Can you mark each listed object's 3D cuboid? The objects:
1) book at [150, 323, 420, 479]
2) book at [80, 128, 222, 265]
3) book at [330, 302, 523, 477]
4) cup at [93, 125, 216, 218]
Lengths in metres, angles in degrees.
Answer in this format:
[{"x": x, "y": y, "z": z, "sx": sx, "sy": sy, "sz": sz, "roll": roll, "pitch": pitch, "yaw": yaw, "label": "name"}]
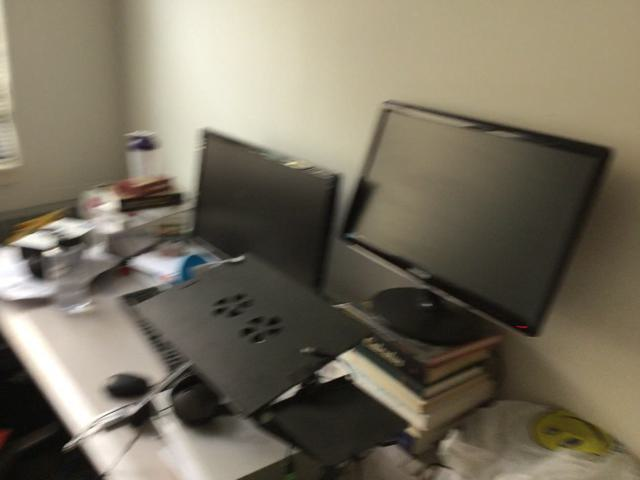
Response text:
[{"x": -0.070, "y": 0.350, "z": 1.170, "sx": 0.430, "sy": 0.150, "sz": 0.320, "roll": -11, "pitch": 24, "yaw": -40, "label": "book"}, {"x": -0.580, "y": -0.170, "z": 2.000, "sx": 0.370, "sy": 0.380, "sz": 0.290, "roll": -11, "pitch": 24, "yaw": -40, "label": "book"}, {"x": 0.230, "y": 0.310, "z": 1.290, "sx": 0.270, "sy": 0.190, "sz": 0.300, "roll": -11, "pitch": 24, "yaw": -40, "label": "book"}, {"x": -0.570, "y": -0.250, "z": 2.010, "sx": 0.350, "sy": 0.260, "sz": 0.200, "roll": -11, "pitch": 24, "yaw": -40, "label": "cup"}]
